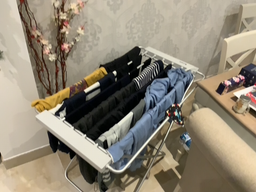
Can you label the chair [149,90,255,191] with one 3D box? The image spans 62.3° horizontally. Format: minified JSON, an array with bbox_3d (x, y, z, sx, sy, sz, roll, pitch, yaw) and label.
[{"bbox_3d":[0.510,0.480,1.060,0.610,0.910,0.450,-13,45,-22],"label":"chair"}]
